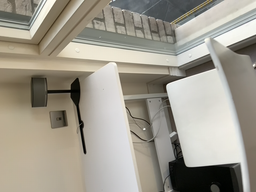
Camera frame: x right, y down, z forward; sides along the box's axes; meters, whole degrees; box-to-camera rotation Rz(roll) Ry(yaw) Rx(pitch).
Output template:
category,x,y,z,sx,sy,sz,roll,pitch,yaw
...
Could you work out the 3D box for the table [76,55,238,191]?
category,x,y,z,sx,sy,sz,roll,pitch,yaw
table,0.180,0.240,1.220,0.390,0.740,0.790,-19,78,48
